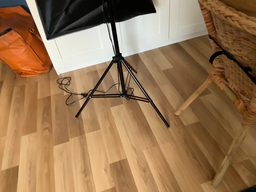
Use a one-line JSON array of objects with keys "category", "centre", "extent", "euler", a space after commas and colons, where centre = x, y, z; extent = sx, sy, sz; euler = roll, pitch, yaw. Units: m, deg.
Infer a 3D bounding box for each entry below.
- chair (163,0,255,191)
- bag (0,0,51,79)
[{"category": "chair", "centre": [0.610, -0.100, 0.930], "extent": [0.720, 0.780, 0.620], "euler": [-14, 44, -6]}, {"category": "bag", "centre": [-0.930, -0.500, 1.820], "extent": [0.330, 0.420, 0.510], "euler": [-20, 45, -12]}]
